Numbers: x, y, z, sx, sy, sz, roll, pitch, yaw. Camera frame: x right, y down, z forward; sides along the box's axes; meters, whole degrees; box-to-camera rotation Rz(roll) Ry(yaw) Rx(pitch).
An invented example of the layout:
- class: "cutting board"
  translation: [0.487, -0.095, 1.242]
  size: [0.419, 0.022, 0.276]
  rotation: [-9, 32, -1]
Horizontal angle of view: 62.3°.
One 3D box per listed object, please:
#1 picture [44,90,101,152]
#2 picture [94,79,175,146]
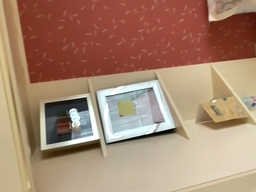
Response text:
- class: "picture"
  translation: [-0.250, 0.100, 0.930]
  size: [0.030, 0.220, 0.250]
  rotation: [96, 162, -57]
- class: "picture"
  translation: [0.020, 0.070, 1.020]
  size: [0.080, 0.320, 0.270]
  rotation: [102, 155, -56]
